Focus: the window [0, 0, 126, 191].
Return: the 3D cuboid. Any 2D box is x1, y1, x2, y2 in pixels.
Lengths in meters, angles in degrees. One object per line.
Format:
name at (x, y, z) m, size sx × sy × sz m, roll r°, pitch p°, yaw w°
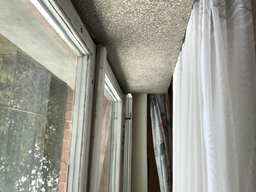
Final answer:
window at (-0.180, 0.440, 0.550) m, size 0.150 × 1.530 × 1.900 m, roll 0°, pitch 168°, yaw 5°
